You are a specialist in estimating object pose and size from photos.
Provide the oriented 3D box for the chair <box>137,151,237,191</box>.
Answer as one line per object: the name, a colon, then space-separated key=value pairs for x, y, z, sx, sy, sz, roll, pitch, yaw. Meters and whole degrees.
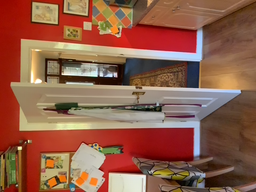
chair: x=0.580 y=0.890 z=2.170 sx=0.470 sy=0.870 sz=0.500 roll=171 pitch=100 yaw=-75

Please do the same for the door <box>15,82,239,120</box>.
door: x=0.040 y=0.090 z=2.060 sx=0.680 sy=1.920 sz=0.050 roll=119 pitch=149 yaw=-60
